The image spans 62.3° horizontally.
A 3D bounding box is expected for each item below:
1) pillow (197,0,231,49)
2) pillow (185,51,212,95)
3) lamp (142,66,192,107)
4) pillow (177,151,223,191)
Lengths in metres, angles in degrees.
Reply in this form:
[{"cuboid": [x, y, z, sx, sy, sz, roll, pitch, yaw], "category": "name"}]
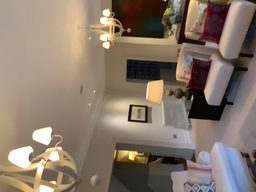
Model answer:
[{"cuboid": [1.270, -1.080, 3.160, 0.340, 0.310, 0.620, -52, -30, -46], "category": "pillow"}, {"cuboid": [1.230, -0.400, 3.710, 0.370, 0.320, 0.620, -67, -18, -46], "category": "pillow"}, {"cuboid": [0.730, -0.200, 4.200, 0.550, 0.840, 0.550, -83, -3, -55], "category": "lamp"}, {"cuboid": [1.000, 1.190, 2.960, 0.750, 0.460, 0.230, -48, -34, -46], "category": "pillow"}]
